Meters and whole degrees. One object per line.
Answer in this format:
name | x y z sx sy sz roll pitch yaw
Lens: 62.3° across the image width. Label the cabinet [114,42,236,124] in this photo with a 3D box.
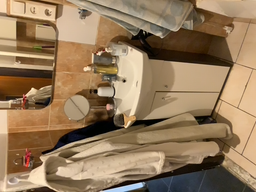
cabinet | 0.350 -0.090 1.610 0.310 0.780 0.470 46 128 52
